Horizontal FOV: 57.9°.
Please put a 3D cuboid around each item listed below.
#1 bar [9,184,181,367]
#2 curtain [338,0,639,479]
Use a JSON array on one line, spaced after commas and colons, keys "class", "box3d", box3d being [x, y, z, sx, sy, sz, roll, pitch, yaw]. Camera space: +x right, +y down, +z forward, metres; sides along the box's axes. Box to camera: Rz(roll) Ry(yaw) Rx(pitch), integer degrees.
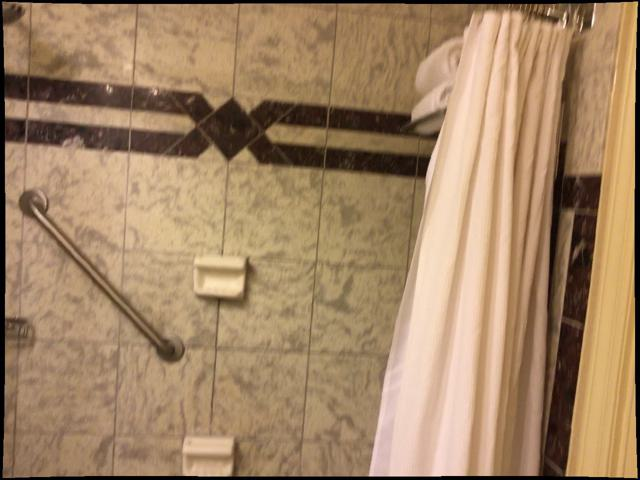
[{"class": "bar", "box3d": [-0.659, 0.110, 1.730, 0.060, 0.660, 0.060, -39, 10, 0]}, {"class": "curtain", "box3d": [0.290, 0.390, 1.140, 0.420, 1.812, 0.410, 4, 7, -7]}]
